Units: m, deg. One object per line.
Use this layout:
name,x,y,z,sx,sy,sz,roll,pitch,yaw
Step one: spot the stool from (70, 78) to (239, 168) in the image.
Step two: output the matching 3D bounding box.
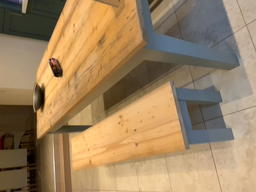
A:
stool,0.000,0.350,1.820,1.640,0.470,0.370,-31,62,52

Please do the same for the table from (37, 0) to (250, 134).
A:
table,-0.220,-0.290,1.940,2.040,0.780,0.860,-32,61,52
